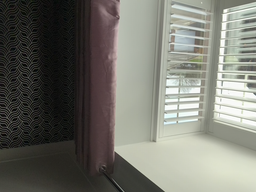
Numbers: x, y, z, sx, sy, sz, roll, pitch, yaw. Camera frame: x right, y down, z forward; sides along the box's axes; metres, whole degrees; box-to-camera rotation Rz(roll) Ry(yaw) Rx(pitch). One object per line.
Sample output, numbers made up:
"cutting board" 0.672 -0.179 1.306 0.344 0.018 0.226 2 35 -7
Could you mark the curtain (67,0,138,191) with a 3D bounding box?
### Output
"curtain" -0.200 -0.380 1.380 0.240 2.200 0.590 -2 -171 -29
